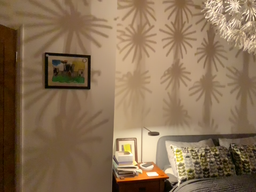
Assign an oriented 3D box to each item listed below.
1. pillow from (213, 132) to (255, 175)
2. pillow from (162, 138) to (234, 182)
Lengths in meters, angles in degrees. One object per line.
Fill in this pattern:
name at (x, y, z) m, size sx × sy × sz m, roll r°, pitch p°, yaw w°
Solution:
pillow at (1.510, 0.680, 2.630) m, size 0.650 × 0.340 × 0.520 m, roll 1°, pitch 3°, yaw -14°
pillow at (0.770, 0.700, 2.410) m, size 0.610 × 0.310 × 0.460 m, roll 1°, pitch 3°, yaw -13°
